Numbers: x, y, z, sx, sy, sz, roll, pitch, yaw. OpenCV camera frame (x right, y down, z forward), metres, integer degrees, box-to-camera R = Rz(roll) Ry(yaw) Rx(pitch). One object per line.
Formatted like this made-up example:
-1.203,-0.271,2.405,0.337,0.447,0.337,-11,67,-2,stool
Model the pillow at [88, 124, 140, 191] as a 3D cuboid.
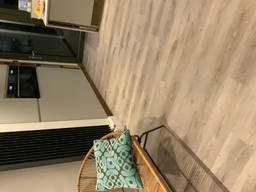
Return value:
-0.130,0.590,1.930,0.170,0.470,0.490,-33,119,12,pillow
